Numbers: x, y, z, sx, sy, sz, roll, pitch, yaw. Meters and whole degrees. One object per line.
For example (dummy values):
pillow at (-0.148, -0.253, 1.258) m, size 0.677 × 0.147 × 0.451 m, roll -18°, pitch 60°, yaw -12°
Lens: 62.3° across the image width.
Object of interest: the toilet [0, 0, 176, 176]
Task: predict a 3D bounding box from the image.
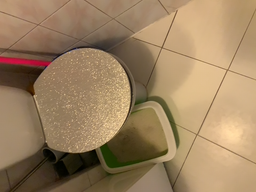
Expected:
toilet at (-0.250, 0.030, 0.900) m, size 0.640 × 0.750 × 0.380 m, roll -24°, pitch 80°, yaw 24°
